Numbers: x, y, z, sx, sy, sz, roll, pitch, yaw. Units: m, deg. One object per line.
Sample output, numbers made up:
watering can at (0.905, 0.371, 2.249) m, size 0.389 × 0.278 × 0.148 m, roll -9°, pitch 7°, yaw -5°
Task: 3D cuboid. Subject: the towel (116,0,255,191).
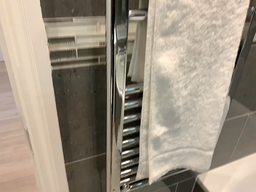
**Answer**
towel at (0.170, 0.010, 0.550) m, size 0.350 × 0.790 × 0.150 m, roll -10°, pitch 34°, yaw -21°
